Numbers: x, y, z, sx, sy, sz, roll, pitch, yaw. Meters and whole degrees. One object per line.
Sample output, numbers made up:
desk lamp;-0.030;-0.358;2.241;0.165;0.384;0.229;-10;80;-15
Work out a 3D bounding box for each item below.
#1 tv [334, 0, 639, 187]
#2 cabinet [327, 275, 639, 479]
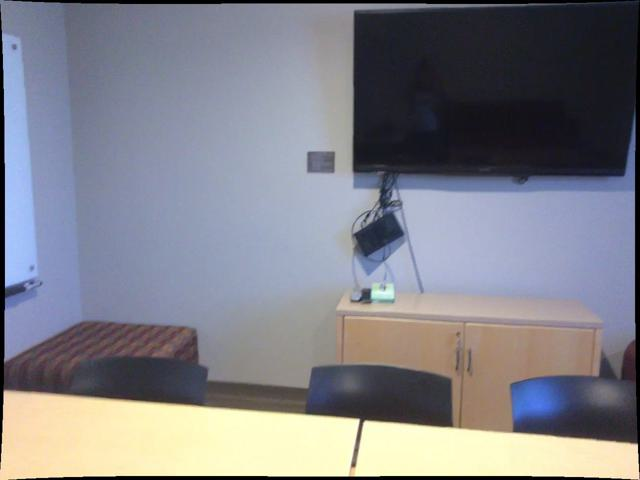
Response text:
tv;0.799;-0.721;2.860;1.428;0.861;0.240;2;10;8
cabinet;0.759;0.661;2.910;1.368;0.791;0.570;2;10;8
